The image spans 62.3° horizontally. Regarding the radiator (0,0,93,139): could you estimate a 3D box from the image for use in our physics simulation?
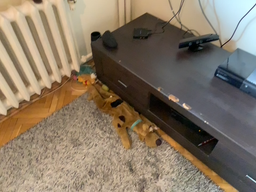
[{"bbox_3d":[-0.910,-0.040,1.200,0.270,0.700,1.510,36,58,27],"label":"radiator"}]
